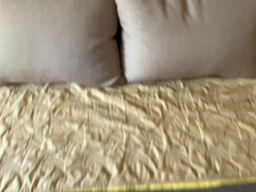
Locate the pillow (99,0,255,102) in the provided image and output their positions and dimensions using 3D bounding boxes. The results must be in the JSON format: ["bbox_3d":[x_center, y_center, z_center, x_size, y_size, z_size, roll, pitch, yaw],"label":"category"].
[{"bbox_3d":[0.210,-0.250,0.850,0.500,0.380,0.210,-21,39,19],"label":"pillow"}]
